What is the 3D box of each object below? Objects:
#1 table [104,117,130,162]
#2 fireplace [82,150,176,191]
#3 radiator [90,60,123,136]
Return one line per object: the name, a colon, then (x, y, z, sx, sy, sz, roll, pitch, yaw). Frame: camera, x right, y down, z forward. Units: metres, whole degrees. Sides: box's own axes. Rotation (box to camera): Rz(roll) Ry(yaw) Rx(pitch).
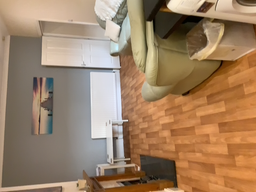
table: (-0.290, 1.040, 5.190, 0.610, 0.460, 0.990, 147, 121, -71)
fireplace: (-0.100, 1.300, 3.350, 1.410, 1.130, 0.690, 147, 121, -71)
radiator: (-0.580, 0.040, 5.650, 0.140, 0.810, 1.970, 153, 115, -72)
